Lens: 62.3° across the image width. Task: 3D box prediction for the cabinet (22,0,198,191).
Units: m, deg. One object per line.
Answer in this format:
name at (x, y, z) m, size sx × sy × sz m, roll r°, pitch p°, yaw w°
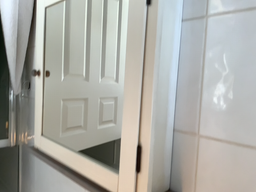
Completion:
cabinet at (-0.110, -0.120, 0.590) m, size 0.560 × 0.720 × 0.130 m, roll 7°, pitch -174°, yaw 42°
